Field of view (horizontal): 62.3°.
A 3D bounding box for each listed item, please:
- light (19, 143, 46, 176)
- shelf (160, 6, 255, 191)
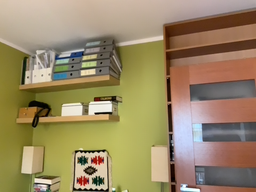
[{"bbox_3d":[-1.050,0.690,2.340,0.190,0.320,0.160,-3,-11,17],"label":"light"},{"bbox_3d":[0.720,0.550,1.660,0.830,2.450,0.250,-4,-11,20],"label":"shelf"}]
